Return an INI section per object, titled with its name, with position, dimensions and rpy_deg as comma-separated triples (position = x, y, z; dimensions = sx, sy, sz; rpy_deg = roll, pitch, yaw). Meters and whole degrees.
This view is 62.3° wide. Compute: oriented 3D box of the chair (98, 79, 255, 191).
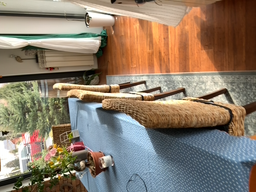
[chair]
position = 0.390, 0.250, 1.250
dimensions = 0.470, 0.990, 0.570
rpy_deg = 18, 113, 58
